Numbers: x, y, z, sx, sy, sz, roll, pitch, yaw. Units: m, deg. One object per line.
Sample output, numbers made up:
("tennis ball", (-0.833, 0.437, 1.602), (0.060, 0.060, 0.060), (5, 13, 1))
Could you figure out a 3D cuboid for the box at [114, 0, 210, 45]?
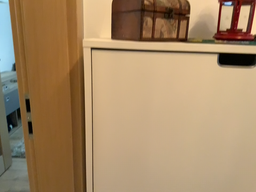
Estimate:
("box", (0.080, -0.230, 0.650), (0.230, 0.120, 0.260), (2, 17, -1))
